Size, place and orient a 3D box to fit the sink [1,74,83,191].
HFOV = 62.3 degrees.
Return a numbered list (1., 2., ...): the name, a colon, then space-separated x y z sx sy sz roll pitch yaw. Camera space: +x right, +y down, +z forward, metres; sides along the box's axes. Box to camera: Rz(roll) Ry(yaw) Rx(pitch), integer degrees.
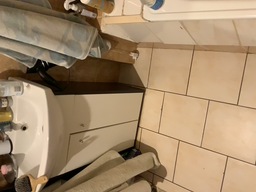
1. sink: -0.450 0.190 1.060 0.420 0.140 0.530 16 102 36
